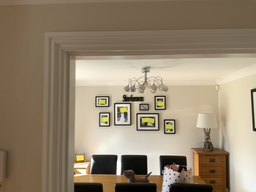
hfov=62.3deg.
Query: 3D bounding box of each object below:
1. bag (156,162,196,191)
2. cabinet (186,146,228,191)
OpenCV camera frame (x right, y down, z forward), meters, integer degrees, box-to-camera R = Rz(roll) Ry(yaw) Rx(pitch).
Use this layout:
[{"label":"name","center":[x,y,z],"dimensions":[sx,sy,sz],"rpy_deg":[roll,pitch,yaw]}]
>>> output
[{"label":"bag","center":[0.470,0.870,2.130],"dimensions":[0.330,0.320,0.330],"rpy_deg":[0,-3,1]},{"label":"cabinet","center":[1.330,1.410,3.630],"dimensions":[0.560,1.020,0.420],"rpy_deg":[0,-3,3]}]
